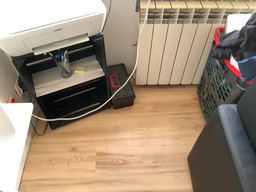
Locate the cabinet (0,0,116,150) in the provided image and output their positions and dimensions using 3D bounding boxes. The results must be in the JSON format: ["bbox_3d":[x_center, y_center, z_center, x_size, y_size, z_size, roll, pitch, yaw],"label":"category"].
[{"bbox_3d":[-0.350,-0.110,1.210,0.460,0.940,0.330,-17,55,-14],"label":"cabinet"}]
